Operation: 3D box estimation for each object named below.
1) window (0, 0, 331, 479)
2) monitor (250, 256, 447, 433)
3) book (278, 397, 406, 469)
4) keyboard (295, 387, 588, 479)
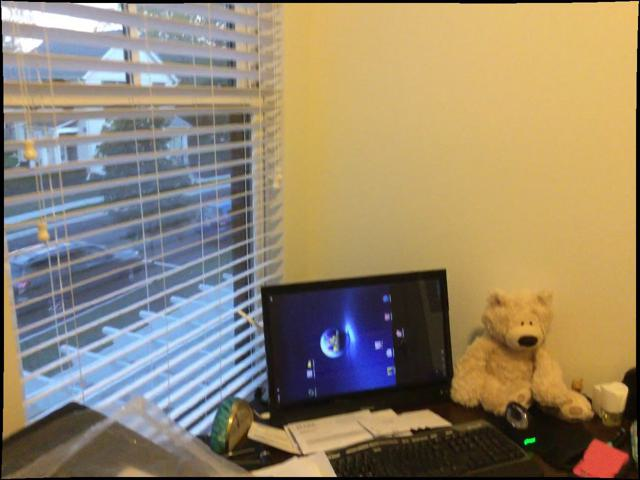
[{"bbox_3d":[-0.349,-0.351,1.230,0.359,1.804,1.080,6,18,22],"label":"window"},{"bbox_3d":[0.070,0.251,1.480,0.449,0.331,0.190,-6,18,-18],"label":"monitor"},{"bbox_3d":[0.050,0.451,1.370,0.259,0.020,0.160,-8,18,-23],"label":"book"},{"bbox_3d":[0.249,0.471,1.220,0.529,0.060,0.300,-8,18,-23],"label":"keyboard"}]
